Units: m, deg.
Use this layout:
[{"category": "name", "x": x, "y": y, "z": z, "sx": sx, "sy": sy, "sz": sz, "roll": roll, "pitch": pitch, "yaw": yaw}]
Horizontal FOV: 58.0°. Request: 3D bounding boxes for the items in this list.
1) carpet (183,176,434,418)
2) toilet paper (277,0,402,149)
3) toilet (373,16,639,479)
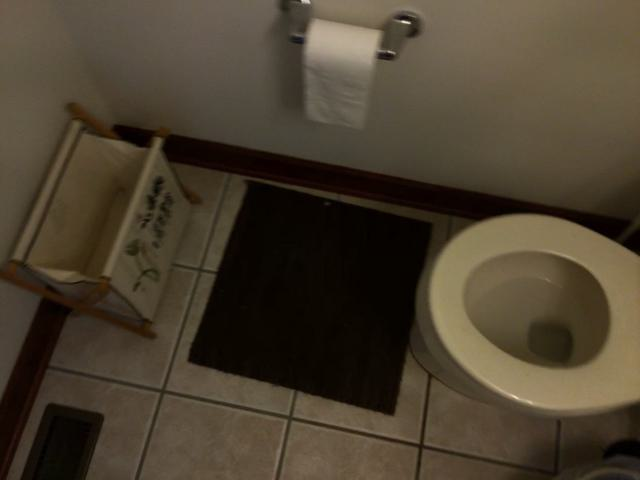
[{"category": "carpet", "x": -0.010, "y": 0.120, "z": 1.420, "sx": 0.510, "sy": 0.040, "sz": 0.510, "roll": 12, "pitch": 67, "yaw": 4}, {"category": "toilet paper", "x": 0.030, "y": -0.290, "z": 1.030, "sx": 0.180, "sy": 0.240, "sz": 0.110, "roll": 12, "pitch": 67, "yaw": 4}, {"category": "toilet", "x": 0.510, "y": 0.140, "z": 1.010, "sx": 0.680, "sy": 0.770, "sz": 0.490, "roll": 12, "pitch": 67, "yaw": 4}]
